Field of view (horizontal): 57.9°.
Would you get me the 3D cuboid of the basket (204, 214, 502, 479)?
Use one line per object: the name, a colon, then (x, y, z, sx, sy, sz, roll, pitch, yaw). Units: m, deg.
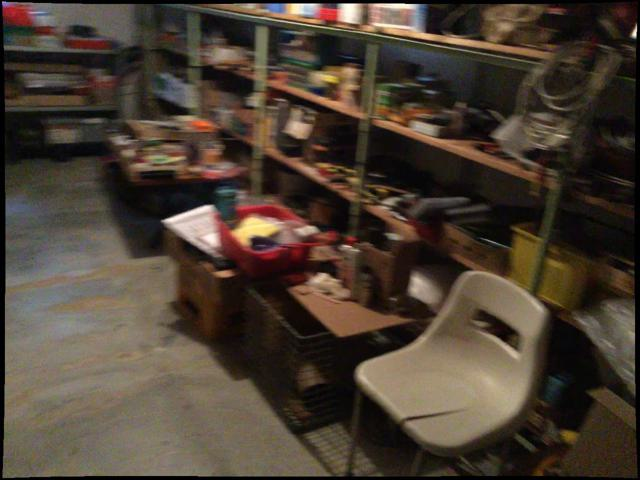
basket: (0.060, 0.340, 2.410, 0.710, 0.460, 1.070, -11, 28, -31)
